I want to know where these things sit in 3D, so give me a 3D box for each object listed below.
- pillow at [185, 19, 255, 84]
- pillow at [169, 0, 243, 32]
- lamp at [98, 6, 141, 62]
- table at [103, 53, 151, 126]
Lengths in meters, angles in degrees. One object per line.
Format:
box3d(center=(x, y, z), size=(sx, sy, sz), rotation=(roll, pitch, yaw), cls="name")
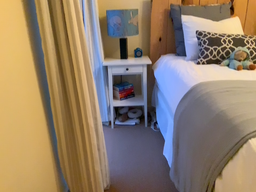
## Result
box3d(center=(0.800, -0.350, 1.600), size=(0.590, 0.430, 0.140), rotation=(-10, -32, -5), cls="pillow")
box3d(center=(0.720, -0.770, 1.990), size=(0.620, 0.250, 0.100), rotation=(-8, -18, -5), cls="pillow")
box3d(center=(-0.070, -0.610, 2.070), size=(0.360, 0.470, 0.340), rotation=(-2, 21, 1), cls="lamp")
box3d(center=(0.000, -0.080, 2.280), size=(0.450, 0.680, 0.360), rotation=(-3, 21, -1), cls="table")
